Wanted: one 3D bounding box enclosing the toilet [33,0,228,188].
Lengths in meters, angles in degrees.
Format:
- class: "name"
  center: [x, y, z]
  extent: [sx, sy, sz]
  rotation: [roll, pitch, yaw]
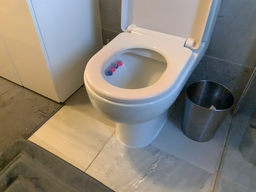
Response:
- class: "toilet"
  center: [0.080, -0.180, 0.850]
  extent: [0.420, 0.850, 0.610]
  rotation: [21, 47, 20]
